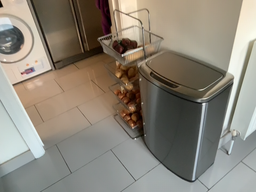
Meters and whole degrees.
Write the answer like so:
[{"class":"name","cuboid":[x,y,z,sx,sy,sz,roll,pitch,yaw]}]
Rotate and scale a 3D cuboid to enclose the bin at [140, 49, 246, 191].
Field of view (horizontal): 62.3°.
[{"class":"bin","cuboid":[0.330,0.150,1.240,0.350,0.680,0.350,-25,42,-22]}]
